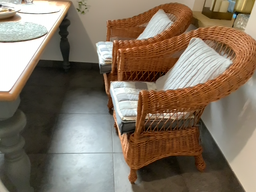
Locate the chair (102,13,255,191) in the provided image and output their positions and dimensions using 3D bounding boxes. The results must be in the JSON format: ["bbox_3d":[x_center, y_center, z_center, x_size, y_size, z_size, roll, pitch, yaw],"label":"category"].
[{"bbox_3d":[0.280,0.010,1.380,0.780,0.850,0.680,-2,34,-14],"label":"chair"}]

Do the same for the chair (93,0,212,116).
[{"bbox_3d":[0.110,-0.370,1.960,0.800,0.830,0.680,-1,34,-13],"label":"chair"}]

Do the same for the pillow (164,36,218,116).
[{"bbox_3d":[0.370,-0.120,1.330,0.180,0.430,0.340,2,6,-6],"label":"pillow"}]

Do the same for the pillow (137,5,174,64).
[{"bbox_3d":[0.230,-0.520,1.900,0.200,0.410,0.390,1,1,-11],"label":"pillow"}]
